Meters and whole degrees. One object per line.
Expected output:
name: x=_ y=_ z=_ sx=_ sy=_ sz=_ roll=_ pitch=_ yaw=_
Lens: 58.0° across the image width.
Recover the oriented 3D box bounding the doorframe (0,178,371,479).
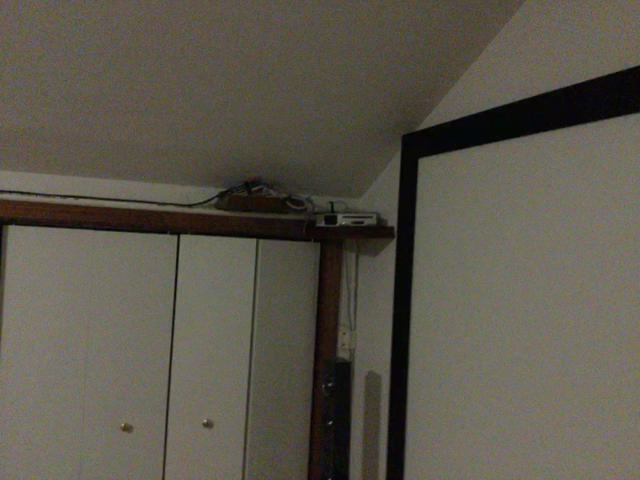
doorframe: x=-0.580 y=0.720 z=2.110 sx=1.420 sy=1.690 sz=0.230 roll=7 pitch=-3 yaw=-23

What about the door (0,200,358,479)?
door: x=-0.550 y=0.770 z=2.100 sx=1.280 sy=1.650 sz=0.150 roll=7 pitch=-3 yaw=-23
